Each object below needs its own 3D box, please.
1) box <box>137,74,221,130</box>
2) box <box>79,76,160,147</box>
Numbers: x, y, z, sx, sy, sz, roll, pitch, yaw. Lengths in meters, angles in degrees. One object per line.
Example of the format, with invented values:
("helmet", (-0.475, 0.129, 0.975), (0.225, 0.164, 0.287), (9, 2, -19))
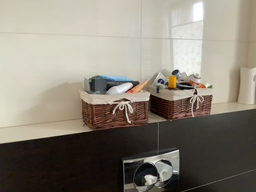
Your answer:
("box", (0.210, 0.010, 0.920), (0.290, 0.190, 0.190), (-4, 10, -20))
("box", (-0.040, 0.040, 0.790), (0.250, 0.210, 0.180), (-4, 10, -20))
